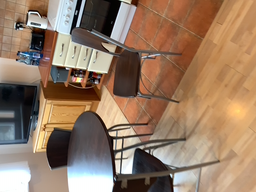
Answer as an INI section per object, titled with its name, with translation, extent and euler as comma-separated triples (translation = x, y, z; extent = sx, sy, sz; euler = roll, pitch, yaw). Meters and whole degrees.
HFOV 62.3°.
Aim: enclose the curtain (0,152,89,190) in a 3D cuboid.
[curtain]
translation = -1.960, 1.180, 3.170
extent = 0.330, 2.780, 0.270
euler = 56, 131, 43
